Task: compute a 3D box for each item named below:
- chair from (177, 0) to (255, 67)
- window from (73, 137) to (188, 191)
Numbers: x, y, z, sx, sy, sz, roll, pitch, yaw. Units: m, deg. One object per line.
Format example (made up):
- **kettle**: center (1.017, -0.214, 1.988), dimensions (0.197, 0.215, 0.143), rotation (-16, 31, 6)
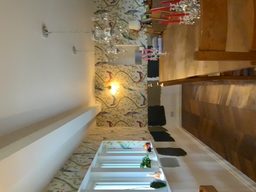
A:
- **chair**: center (0.910, -0.430, 1.340), dimensions (0.500, 1.070, 0.460), rotation (-97, 7, -85)
- **window**: center (0.020, 1.130, 2.870), dimensions (2.890, 1.190, 0.370), rotation (-97, 7, -85)
